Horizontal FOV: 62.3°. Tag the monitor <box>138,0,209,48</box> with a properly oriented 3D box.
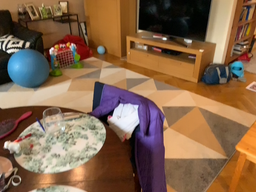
[{"bbox_3d":[0.600,-1.210,3.170,0.050,0.740,1.180,-26,38,-37],"label":"monitor"}]

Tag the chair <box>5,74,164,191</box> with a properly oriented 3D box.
[{"bbox_3d":[-0.170,0.420,1.100,0.430,0.870,0.500,25,38,37],"label":"chair"}]

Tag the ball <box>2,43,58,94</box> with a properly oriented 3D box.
[{"bbox_3d":[-1.360,-0.410,2.970,0.540,0.460,0.510,-18,34,-28],"label":"ball"}]
